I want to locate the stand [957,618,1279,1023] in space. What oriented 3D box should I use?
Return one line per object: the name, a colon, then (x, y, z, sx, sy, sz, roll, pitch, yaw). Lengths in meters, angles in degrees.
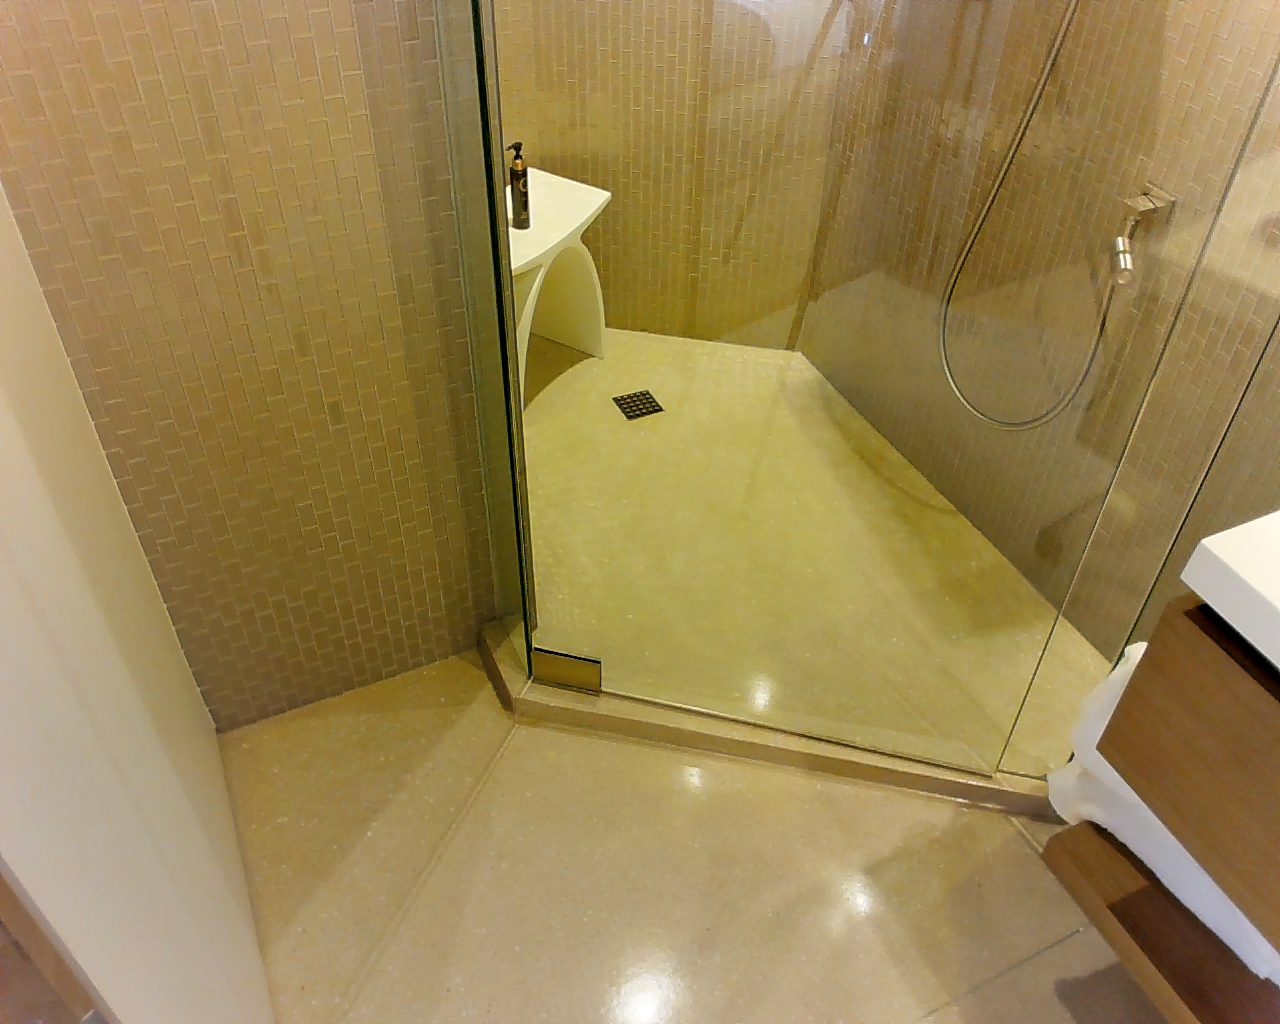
stand: (0.760, 0.620, 1.060, 0.190, 0.310, 1.120, -15, 45, -18)
